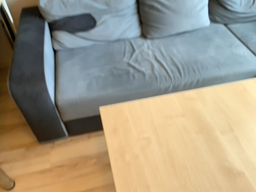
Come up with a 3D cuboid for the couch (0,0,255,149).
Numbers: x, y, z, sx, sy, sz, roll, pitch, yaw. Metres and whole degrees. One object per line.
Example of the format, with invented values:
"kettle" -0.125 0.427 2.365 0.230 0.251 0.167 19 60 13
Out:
"couch" 0.410 -0.470 1.690 2.400 0.780 1.000 -10 48 -9
